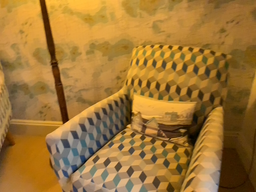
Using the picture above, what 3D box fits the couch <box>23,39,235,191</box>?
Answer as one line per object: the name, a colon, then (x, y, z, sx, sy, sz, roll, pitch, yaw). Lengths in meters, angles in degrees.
couch: (0.120, 0.220, 1.200, 0.720, 0.850, 0.860, 10, 29, 22)
